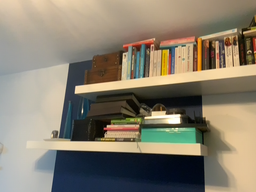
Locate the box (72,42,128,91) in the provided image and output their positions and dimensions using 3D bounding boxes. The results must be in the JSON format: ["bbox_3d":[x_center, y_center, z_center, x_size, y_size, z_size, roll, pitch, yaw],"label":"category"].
[{"bbox_3d":[-0.190,-0.190,1.450,0.340,0.250,0.130,-5,-18,28],"label":"box"}]
